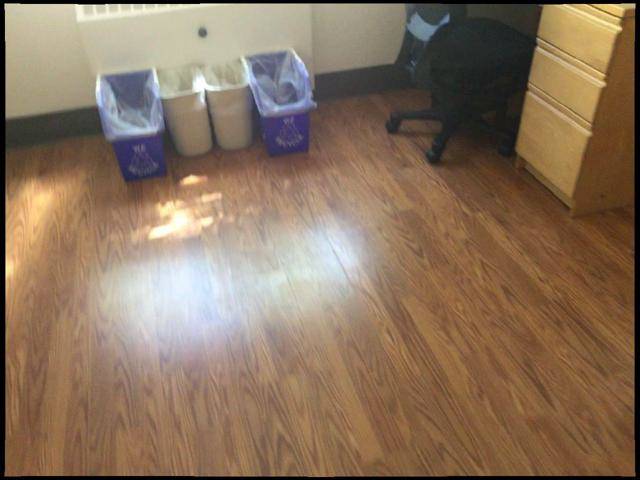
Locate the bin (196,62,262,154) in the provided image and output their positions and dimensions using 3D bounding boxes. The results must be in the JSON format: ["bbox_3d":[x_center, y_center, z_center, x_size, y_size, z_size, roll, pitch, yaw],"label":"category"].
[{"bbox_3d":[-0.419,-0.611,2.660,0.220,0.300,0.270,-13,40,-11],"label":"bin"}]

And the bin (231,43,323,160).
[{"bbox_3d":[-0.200,-0.641,2.640,0.299,0.330,0.430,-13,40,-11],"label":"bin"}]

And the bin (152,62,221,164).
[{"bbox_3d":[-0.609,-0.581,2.630,0.220,0.320,0.310,-13,40,-11],"label":"bin"}]

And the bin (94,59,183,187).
[{"bbox_3d":[-0.818,-0.541,2.590,0.289,0.320,0.530,-13,40,-11],"label":"bin"}]
